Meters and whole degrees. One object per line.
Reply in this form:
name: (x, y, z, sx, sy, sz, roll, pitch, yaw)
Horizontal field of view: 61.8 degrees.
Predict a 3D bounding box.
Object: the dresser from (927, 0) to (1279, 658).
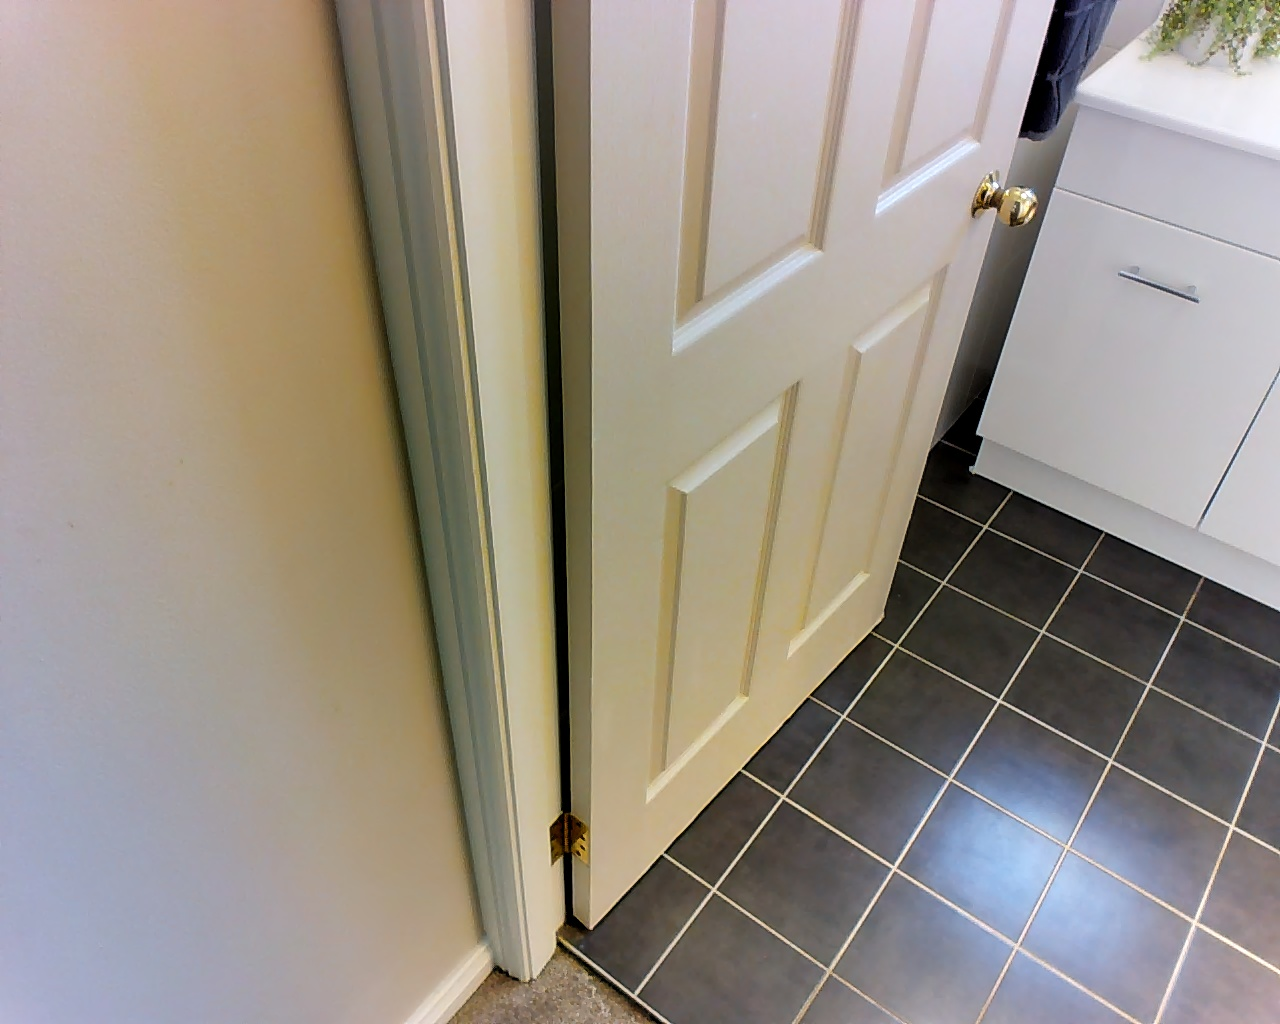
dresser: (1.280, -0.220, 1.870, 1.270, 0.900, 0.470, 29, 50, 25)
